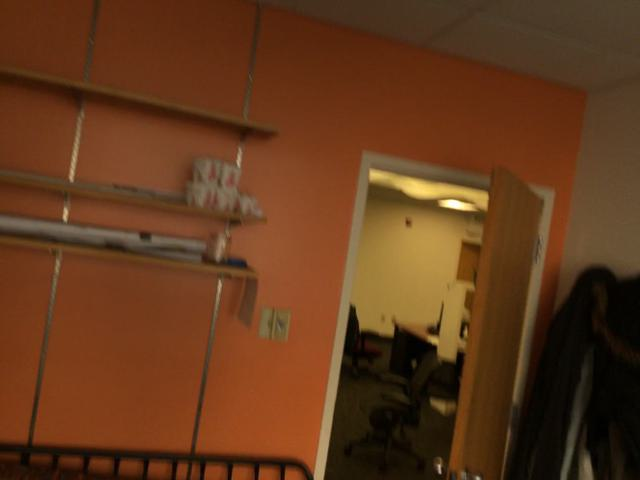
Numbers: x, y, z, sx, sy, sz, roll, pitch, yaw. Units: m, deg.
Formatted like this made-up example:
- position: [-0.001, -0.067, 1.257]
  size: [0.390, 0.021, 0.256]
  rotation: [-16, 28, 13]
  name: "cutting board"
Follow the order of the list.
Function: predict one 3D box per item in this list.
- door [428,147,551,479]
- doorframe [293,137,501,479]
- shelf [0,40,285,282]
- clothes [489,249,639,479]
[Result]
- position: [0.650, 0.740, 2.320]
  size: [0.120, 2.060, 0.830]
  rotation: [8, -1, 30]
  name: "door"
- position: [0.300, 0.670, 2.580]
  size: [0.670, 2.120, 0.230]
  rotation: [9, -1, -17]
  name: "doorframe"
- position: [-0.920, -0.280, 1.990]
  size: [1.470, 0.630, 0.390]
  rotation: [9, -1, -17]
  name: "shelf"
- position: [1.060, 0.870, 2.270]
  size: [0.240, 1.610, 0.890]
  rotation: [9, -1, -17]
  name: "clothes"
